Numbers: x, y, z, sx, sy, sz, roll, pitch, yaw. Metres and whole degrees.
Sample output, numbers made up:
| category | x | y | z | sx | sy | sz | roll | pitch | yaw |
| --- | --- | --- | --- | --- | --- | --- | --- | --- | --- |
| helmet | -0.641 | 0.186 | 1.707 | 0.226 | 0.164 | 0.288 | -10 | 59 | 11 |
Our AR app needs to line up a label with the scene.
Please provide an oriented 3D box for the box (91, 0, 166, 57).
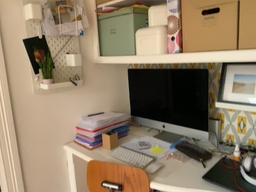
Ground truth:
| category | x | y | z | sx | sy | sz | roll | pitch | yaw |
| --- | --- | --- | --- | --- | --- | --- | --- | --- | --- |
| box | 0.000 | -0.470 | 1.540 | 0.470 | 0.350 | 0.270 | 7 | 15 | 41 |

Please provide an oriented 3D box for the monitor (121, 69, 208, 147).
| category | x | y | z | sx | sy | sz | roll | pitch | yaw |
| --- | --- | --- | --- | --- | --- | --- | --- | --- | --- |
| monitor | 0.230 | 0.050 | 1.560 | 0.700 | 0.480 | 0.050 | 8 | 18 | 43 |

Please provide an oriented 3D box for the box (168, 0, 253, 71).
| category | x | y | z | sx | sy | sz | roll | pitch | yaw |
| --- | --- | --- | --- | --- | --- | --- | --- | --- | --- |
| box | 0.420 | -0.340 | 1.120 | 0.210 | 0.390 | 0.350 | -13 | 15 | -43 |
